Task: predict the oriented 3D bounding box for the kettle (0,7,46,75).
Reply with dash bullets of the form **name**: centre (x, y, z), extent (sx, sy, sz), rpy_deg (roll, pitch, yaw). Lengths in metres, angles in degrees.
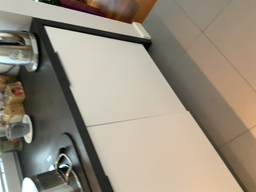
- **kettle**: centre (-0.550, -0.250, 0.980), extent (0.200, 0.230, 0.220), rpy_deg (-50, 57, 37)
